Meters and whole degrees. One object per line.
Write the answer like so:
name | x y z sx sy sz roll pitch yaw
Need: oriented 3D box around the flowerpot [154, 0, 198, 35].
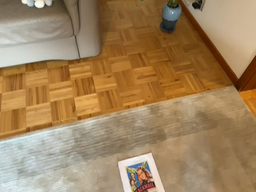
flowerpot | 0.400 -0.770 1.860 0.250 0.330 0.280 -6 55 -6
